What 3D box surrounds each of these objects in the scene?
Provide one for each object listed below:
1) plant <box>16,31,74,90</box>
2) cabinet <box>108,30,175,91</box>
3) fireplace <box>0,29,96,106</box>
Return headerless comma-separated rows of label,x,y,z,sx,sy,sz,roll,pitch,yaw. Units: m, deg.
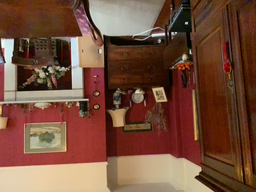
plant,-1.450,-0.600,3.760,0.820,0.880,0.500,-3,174,0
cabinet,0.210,-0.640,4.000,1.120,0.960,0.610,-3,174,-5
fireplace,-1.400,-0.470,3.870,1.520,1.170,0.790,-3,174,-4
